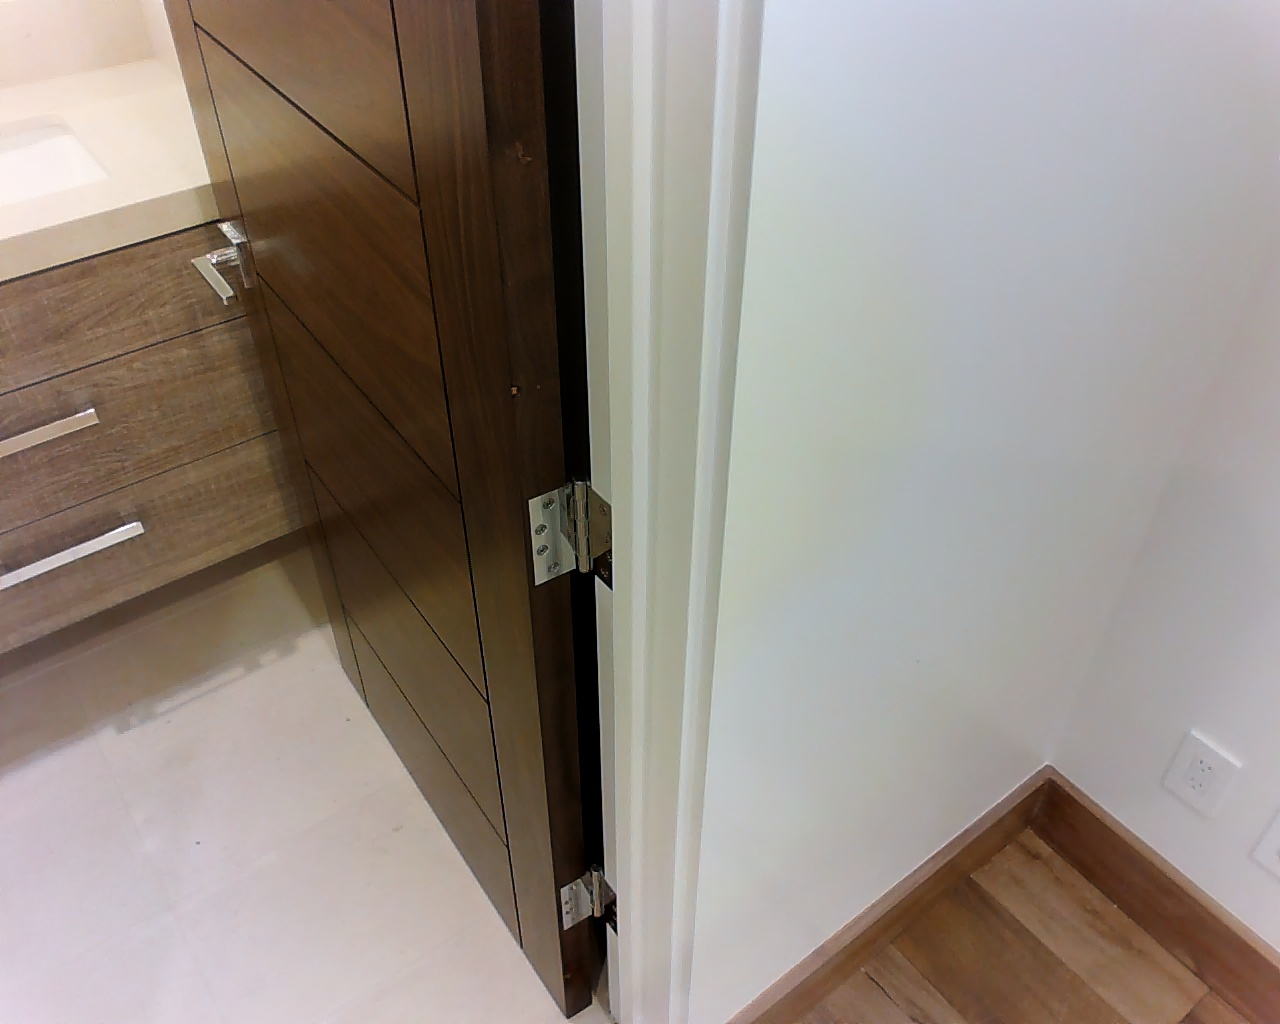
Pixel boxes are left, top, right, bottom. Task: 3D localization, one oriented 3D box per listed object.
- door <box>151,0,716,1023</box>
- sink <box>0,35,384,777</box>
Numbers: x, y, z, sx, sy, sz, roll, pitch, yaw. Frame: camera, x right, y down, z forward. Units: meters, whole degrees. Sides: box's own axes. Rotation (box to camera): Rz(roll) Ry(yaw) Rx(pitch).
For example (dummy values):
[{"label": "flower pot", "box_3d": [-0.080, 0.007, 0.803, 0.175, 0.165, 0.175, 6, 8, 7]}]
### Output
[{"label": "door", "box_3d": [-0.270, -0.410, 0.950, 0.060, 2.490, 0.970, -26, 48, -26]}, {"label": "sink", "box_3d": [-1.080, -0.140, 1.810, 0.980, 0.940, 0.580, -25, 48, -25]}]
